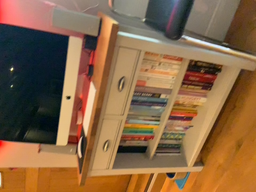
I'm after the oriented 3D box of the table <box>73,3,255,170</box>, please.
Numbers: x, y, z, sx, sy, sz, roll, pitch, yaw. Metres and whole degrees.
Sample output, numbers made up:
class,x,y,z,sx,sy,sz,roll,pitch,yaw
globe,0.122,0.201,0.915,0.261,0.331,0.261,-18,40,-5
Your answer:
class,x,y,z,sx,sy,sz,roll,pitch,yaw
table,0.160,0.010,1.340,0.350,0.850,0.880,-117,39,-55
